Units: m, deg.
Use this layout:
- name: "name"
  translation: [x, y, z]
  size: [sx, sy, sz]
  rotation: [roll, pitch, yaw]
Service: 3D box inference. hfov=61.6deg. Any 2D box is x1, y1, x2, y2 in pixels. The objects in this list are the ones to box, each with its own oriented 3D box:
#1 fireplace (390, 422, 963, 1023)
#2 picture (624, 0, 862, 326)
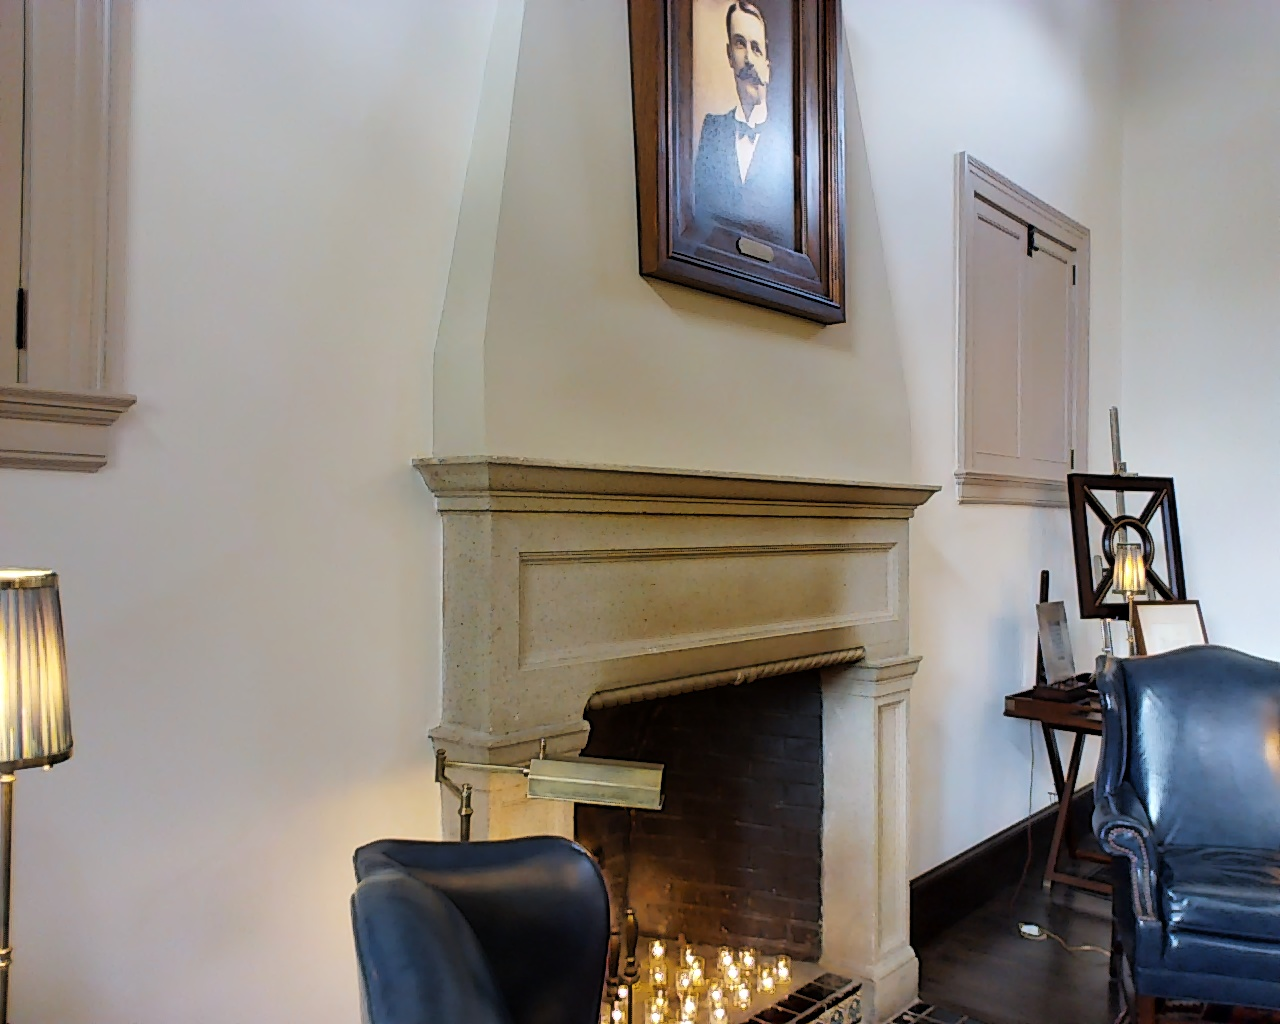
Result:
- name: "fireplace"
  translation: [0.260, 0.670, 2.750]
  size: [0.290, 1.650, 1.940]
  rotation: [1, 0, 41]
- name: "picture"
  translation: [0.300, -1.100, 2.770]
  size: [0.130, 1.090, 0.810]
  rotation: [0, -3, 41]
